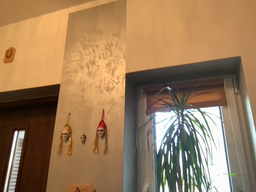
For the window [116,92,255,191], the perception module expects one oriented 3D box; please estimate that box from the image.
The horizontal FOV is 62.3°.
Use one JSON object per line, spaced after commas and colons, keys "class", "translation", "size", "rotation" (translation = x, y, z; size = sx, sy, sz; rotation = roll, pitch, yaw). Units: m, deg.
{"class": "window", "translation": [0.270, 0.510, 0.890], "size": [0.620, 0.980, 0.200], "rotation": [-7, -21, 19]}
